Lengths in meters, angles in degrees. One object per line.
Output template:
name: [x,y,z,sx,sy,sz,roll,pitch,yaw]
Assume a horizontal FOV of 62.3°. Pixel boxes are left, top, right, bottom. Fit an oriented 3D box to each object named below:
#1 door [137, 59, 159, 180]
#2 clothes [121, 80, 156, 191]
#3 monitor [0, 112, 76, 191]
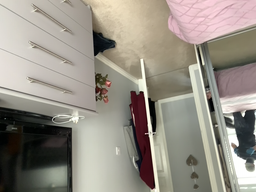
door: [0.280,0.330,2.960,0.090,1.500,0.760,-7,164,5]
clothes: [0.150,0.560,2.850,0.210,1.390,0.660,-9,164,11]
monitor: [-0.640,0.420,1.180,0.050,0.640,0.980,-13,163,24]
